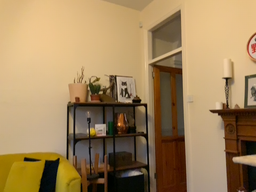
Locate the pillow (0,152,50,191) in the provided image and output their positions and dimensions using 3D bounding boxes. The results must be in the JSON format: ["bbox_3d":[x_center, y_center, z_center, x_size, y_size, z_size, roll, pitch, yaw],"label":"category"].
[{"bbox_3d":[-1.020,0.780,1.960,0.410,0.370,0.150,20,-20,8],"label":"pillow"}]
